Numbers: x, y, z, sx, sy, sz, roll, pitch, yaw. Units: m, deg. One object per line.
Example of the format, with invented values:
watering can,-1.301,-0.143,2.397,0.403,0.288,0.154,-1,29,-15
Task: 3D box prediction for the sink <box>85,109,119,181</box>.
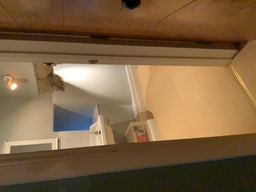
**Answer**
sink,-0.340,0.590,2.590,0.470,0.270,0.710,112,152,-52
